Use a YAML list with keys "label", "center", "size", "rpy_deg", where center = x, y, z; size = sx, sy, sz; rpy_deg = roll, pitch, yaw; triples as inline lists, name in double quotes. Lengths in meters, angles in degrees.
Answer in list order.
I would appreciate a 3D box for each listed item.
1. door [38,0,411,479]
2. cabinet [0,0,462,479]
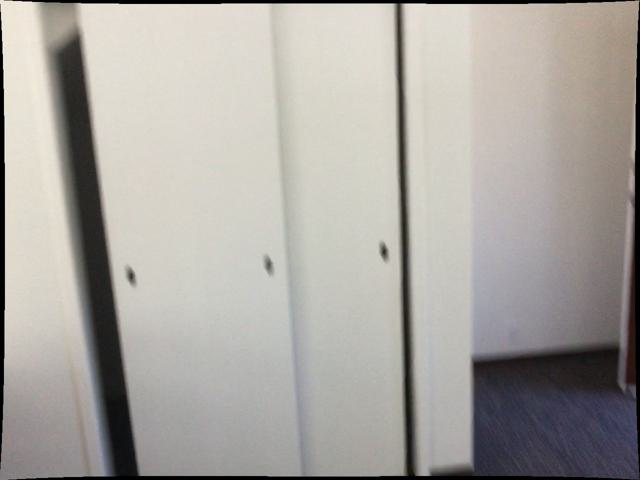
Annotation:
- label: "door"
  center: [-0.270, 0.020, 2.110]
  size: [1.168, 1.923, 0.210]
  rpy_deg: [-3, 13, -5]
- label: "cabinet"
  center: [-0.509, -0.100, 2.530]
  size: [1.907, 1.973, 1.120]
  rpy_deg: [-3, 13, -5]
